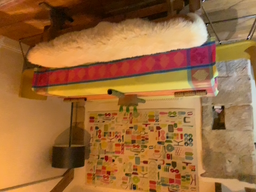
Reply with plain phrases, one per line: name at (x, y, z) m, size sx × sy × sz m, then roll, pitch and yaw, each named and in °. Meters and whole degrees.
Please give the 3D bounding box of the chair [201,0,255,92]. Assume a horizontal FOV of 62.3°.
chair at (0.990, -0.470, 2.060) m, size 0.470 × 0.780 × 0.450 m, roll -2°, pitch 171°, yaw 23°
